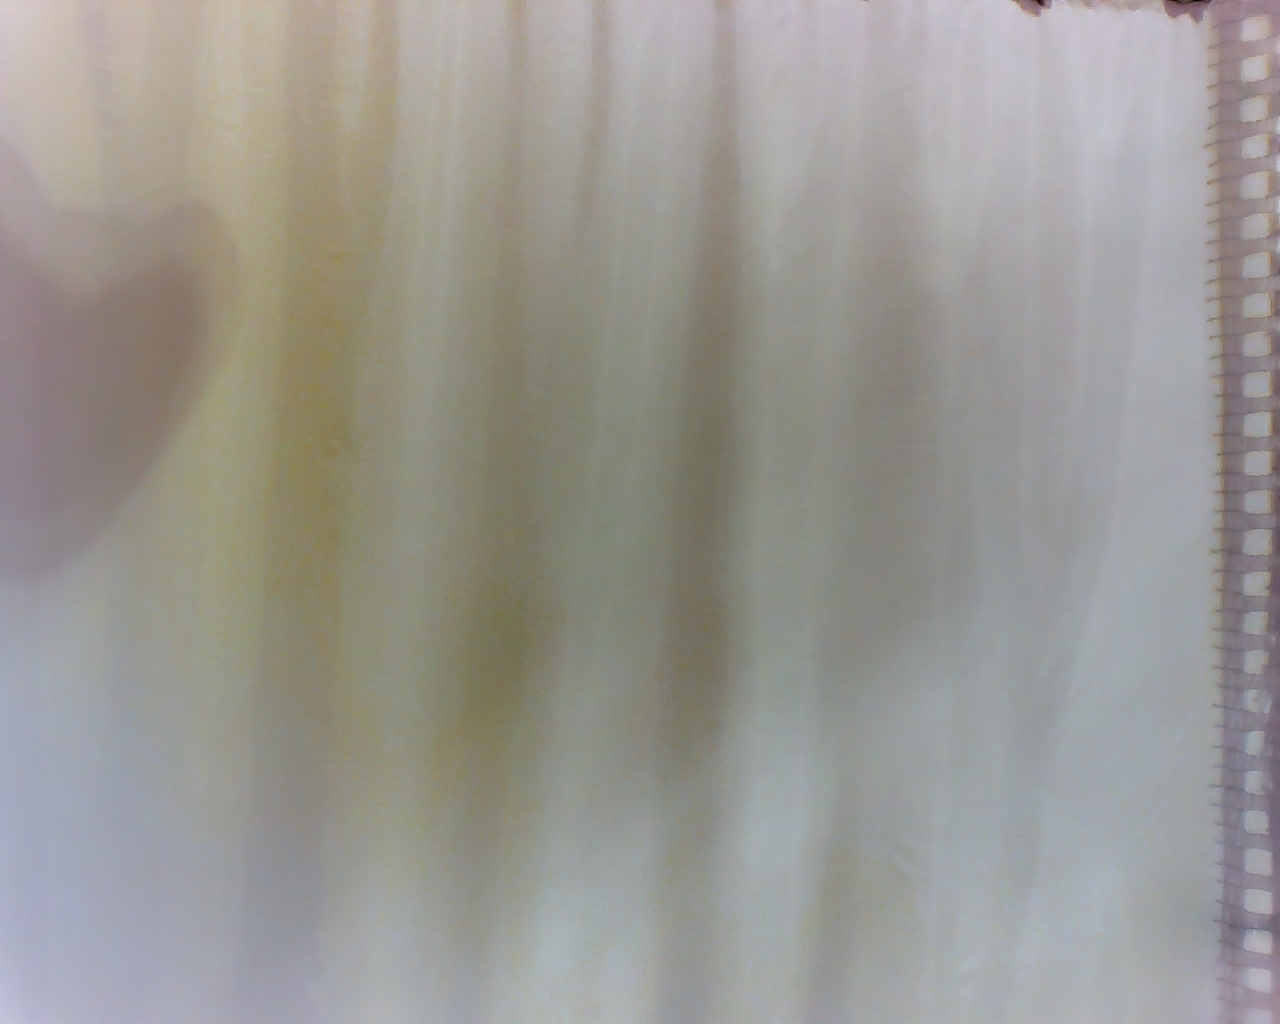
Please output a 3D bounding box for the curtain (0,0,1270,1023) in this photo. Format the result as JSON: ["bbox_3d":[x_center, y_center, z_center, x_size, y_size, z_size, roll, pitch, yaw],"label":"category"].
[{"bbox_3d":[-0.070,0.290,0.810,1.100,1.701,0.230,0,0,-15],"label":"curtain"}]
